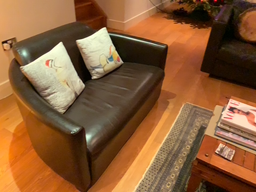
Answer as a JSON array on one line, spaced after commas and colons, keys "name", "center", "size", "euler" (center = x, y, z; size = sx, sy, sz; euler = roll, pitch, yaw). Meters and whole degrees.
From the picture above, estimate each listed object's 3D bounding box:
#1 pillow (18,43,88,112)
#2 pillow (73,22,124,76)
[{"name": "pillow", "center": [-0.500, -0.130, 1.450], "size": [0.200, 0.370, 0.370], "euler": [18, 13, 20]}, {"name": "pillow", "center": [-0.240, -0.380, 1.800], "size": [0.170, 0.360, 0.380], "euler": [19, 9, 24]}]
